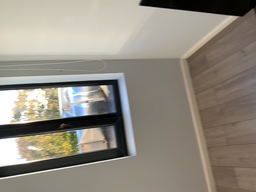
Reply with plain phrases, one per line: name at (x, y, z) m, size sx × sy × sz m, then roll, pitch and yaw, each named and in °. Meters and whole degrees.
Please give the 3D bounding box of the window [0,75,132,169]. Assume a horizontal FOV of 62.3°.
window at (-0.670, 0.210, 2.150) m, size 0.080 × 1.370 × 0.820 m, roll 141°, pitch 123°, yaw -67°
